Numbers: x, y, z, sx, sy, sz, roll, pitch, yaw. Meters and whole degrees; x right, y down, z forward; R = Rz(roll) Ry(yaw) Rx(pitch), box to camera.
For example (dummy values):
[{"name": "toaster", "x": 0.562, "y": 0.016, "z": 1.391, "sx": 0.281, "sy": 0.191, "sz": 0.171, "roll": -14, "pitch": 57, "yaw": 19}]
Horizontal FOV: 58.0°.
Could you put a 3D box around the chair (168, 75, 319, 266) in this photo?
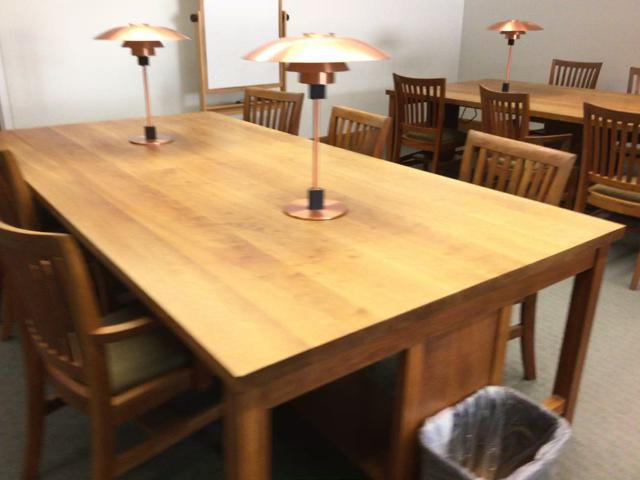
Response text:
[{"name": "chair", "x": -0.450, "y": -0.460, "z": 3.480, "sx": 0.590, "sy": 0.940, "sz": 0.680, "roll": -16, "pitch": 27, "yaw": -34}]

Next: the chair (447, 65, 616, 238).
[{"name": "chair", "x": 1.300, "y": -0.600, "z": 3.700, "sx": 0.630, "sy": 0.930, "sz": 0.680, "roll": -8, "pitch": 23, "yaw": -17}]

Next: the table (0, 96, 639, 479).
[{"name": "table", "x": -0.460, "y": 0.030, "z": 2.470, "sx": 1.510, "sy": 0.840, "sz": 2.720, "roll": -16, "pitch": 27, "yaw": -34}]

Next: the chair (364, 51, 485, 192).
[{"name": "chair", "x": 0.780, "y": -0.950, "z": 4.490, "sx": 0.520, "sy": 0.930, "sz": 0.710, "roll": -16, "pitch": 27, "yaw": -34}]

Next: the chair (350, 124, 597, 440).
[{"name": "chair", "x": 0.530, "y": 0.100, "z": 2.160, "sx": 0.620, "sy": 0.910, "sz": 0.550, "roll": -16, "pitch": 27, "yaw": -34}]

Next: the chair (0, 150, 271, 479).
[{"name": "chair", "x": -0.580, "y": 0.290, "z": 1.660, "sx": 0.620, "sy": 0.920, "sz": 0.590, "roll": -16, "pitch": 27, "yaw": -34}]

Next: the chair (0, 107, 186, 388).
[{"name": "chair", "x": -1.010, "y": -0.020, "z": 2.370, "sx": 0.650, "sy": 0.910, "sz": 0.530, "roll": -16, "pitch": 27, "yaw": -34}]

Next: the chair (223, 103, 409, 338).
[{"name": "chair", "x": -0.020, "y": -0.140, "z": 2.800, "sx": 0.630, "sy": 0.910, "sz": 0.570, "roll": -16, "pitch": 27, "yaw": -34}]

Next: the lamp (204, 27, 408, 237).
[{"name": "lamp", "x": -0.050, "y": -0.370, "z": 1.790, "sx": 0.390, "sy": 0.530, "sz": 0.480, "roll": -16, "pitch": 27, "yaw": -34}]

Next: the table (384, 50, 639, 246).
[{"name": "table", "x": 1.910, "y": -0.780, "z": 4.110, "sx": 1.420, "sy": 0.900, "sz": 2.680, "roll": -16, "pitch": 27, "yaw": -34}]
